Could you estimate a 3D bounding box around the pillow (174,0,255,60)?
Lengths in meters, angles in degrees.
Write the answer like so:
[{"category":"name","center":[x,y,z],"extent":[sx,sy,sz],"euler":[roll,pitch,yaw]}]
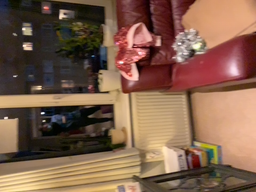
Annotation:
[{"category":"pillow","center":[0.490,-0.480,1.280],"extent":[0.570,0.090,0.360],"euler":[155,112,-68]}]
